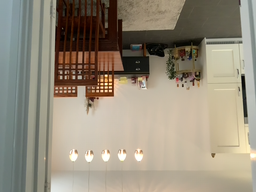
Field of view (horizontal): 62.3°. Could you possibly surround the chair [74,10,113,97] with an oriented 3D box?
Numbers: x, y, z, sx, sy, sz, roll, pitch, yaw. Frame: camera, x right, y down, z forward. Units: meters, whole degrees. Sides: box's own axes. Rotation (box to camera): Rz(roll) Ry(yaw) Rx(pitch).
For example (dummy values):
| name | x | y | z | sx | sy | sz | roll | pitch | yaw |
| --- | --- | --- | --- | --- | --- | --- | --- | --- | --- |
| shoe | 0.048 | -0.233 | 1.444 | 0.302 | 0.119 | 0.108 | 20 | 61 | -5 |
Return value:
| name | x | y | z | sx | sy | sz | roll | pitch | yaw |
| --- | --- | --- | --- | --- | --- | --- | --- | --- | --- |
| chair | -0.480 | -0.580 | 3.090 | 0.430 | 1.130 | 0.500 | -1 | 174 | 6 |
